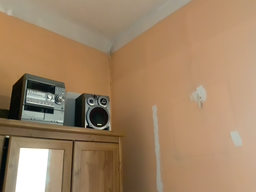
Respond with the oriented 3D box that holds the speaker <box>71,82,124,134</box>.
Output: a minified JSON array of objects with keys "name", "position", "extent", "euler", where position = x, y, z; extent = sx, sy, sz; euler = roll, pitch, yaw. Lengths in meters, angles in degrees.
[{"name":"speaker","position":[-0.260,0.120,1.790],"extent":[0.280,0.330,0.340],"euler":[14,-25,-41]}]

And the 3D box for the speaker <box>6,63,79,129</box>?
[{"name":"speaker","position":[-0.580,0.030,1.460],"extent":[0.320,0.320,0.370],"euler":[15,-25,-43]}]
